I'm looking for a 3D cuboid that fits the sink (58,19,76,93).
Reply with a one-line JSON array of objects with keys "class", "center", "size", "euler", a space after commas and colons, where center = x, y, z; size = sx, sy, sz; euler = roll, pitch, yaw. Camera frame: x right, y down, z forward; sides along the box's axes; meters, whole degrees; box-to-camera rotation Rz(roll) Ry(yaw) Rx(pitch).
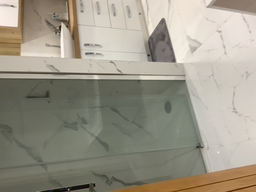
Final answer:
[{"class": "sink", "center": [-0.620, -0.390, 2.120], "size": [0.400, 0.110, 0.600], "euler": [129, 135, -59]}]
